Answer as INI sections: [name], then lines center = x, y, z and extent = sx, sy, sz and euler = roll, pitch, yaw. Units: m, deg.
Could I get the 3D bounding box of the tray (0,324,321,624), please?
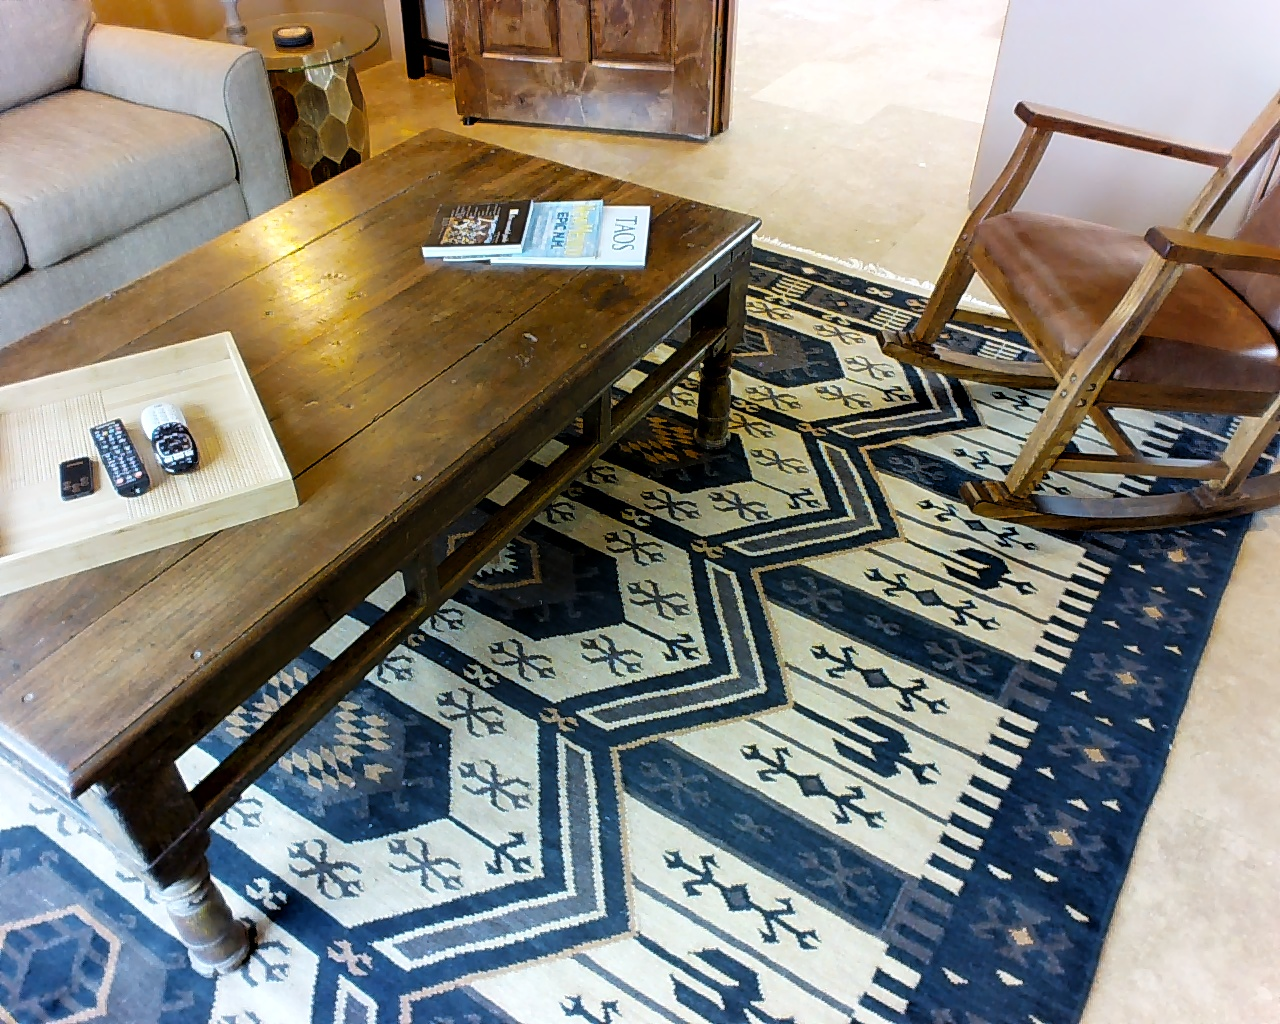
[tray]
center = -0.730, -0.070, 1.460
extent = 0.460, 0.040, 0.480
euler = -19, 45, -20

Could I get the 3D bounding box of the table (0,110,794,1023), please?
[table]
center = -0.520, -0.100, 1.910
extent = 0.900, 0.540, 1.610
euler = 23, 46, 25
